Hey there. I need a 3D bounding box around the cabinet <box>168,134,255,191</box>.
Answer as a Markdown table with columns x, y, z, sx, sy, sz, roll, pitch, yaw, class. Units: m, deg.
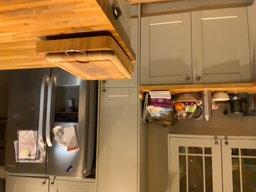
| x | y | z | sx | sy | sz | roll | pitch | yaw | class |
| --- | --- | --- | --- | --- | --- | --- | --- | --- | --- |
| 0.960 | 0.910 | 2.200 | 1.050 | 0.970 | 0.330 | -1 | 173 | 14 | cabinet |
